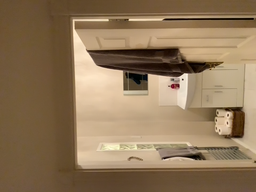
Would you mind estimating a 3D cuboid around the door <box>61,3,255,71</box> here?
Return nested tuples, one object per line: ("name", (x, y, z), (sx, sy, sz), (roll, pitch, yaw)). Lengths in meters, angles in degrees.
("door", (0.670, -0.350, 1.490), (0.860, 2.010, 0.130), (93, 176, -83))

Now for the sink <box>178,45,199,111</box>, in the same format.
("sink", (0.870, -0.260, 3.100), (0.500, 0.150, 0.890), (-96, 5, -84))

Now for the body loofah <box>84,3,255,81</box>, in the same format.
("body loofah", (0.290, -0.400, 1.710), (0.460, 1.190, 0.460), (93, 176, -82))
